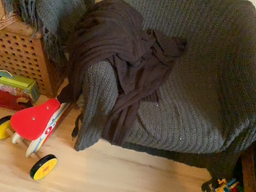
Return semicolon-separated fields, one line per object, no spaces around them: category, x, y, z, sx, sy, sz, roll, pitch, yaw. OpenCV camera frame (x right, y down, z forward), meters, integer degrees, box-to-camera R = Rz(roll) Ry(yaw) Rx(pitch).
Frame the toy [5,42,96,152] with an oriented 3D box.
toy;-0.390;-0.010;1.210;0.190;0.280;0.540;21;53;6

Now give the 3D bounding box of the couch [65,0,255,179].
couch;0.220;-0.120;1.110;0.810;0.670;0.760;11;53;-2
